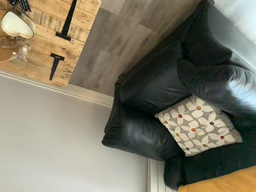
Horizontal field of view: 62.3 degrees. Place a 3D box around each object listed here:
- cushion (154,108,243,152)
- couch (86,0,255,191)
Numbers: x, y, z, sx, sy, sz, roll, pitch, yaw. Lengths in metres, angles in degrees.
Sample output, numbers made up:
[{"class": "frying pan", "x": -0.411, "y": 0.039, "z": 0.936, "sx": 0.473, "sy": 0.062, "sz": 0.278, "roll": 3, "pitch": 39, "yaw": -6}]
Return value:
[{"class": "cushion", "x": 0.490, "y": 0.250, "z": 1.520, "sx": 0.430, "sy": 0.420, "sz": 0.130, "roll": -25, "pitch": 85, "yaw": 57}, {"class": "couch", "x": 0.490, "y": 0.170, "z": 1.530, "sx": 1.100, "sy": 1.010, "sz": 0.970, "roll": -35, "pitch": 39, "yaw": 42}]
